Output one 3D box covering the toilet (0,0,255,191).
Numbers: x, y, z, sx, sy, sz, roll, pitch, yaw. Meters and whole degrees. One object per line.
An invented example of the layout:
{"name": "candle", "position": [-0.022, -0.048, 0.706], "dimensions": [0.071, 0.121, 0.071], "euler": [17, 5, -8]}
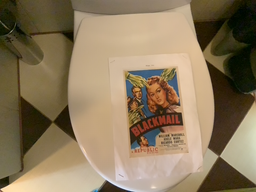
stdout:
{"name": "toilet", "position": [0.020, -0.070, 0.610], "dimensions": [0.390, 0.780, 0.650], "euler": [-7, 80, -6]}
